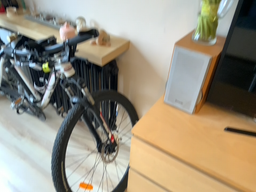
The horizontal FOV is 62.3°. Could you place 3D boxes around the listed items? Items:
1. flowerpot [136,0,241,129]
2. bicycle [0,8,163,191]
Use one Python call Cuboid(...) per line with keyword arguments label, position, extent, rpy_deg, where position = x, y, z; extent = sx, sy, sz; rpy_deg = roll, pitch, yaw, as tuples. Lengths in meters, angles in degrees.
Cuboid(label="flowerpot", position=(0.250, -0.320, 0.800), extent=(0.260, 0.870, 0.280), rpy_deg=(24, 41, 24))
Cuboid(label="bicycle", position=(-0.730, 0.030, 1.440), extent=(1.670, 0.890, 0.660), rpy_deg=(22, 40, 22))
